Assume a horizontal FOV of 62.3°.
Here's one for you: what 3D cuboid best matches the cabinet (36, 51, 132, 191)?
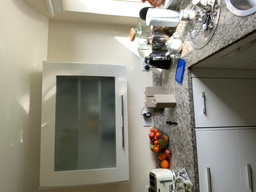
[{"bbox_3d":[-0.380,0.200,1.910,0.340,0.740,1.100,146,124,-76],"label":"cabinet"}]
